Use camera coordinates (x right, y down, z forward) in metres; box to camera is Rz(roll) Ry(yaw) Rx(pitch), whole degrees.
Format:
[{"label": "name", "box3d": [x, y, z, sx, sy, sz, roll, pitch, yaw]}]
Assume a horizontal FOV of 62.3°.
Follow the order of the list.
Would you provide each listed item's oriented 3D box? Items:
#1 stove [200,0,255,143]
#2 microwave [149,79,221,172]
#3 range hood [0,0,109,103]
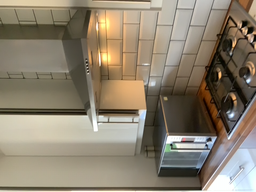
[{"label": "stove", "box3d": [0.550, -0.130, 1.170, 0.590, 0.010, 0.530, 93, 177, -46]}, {"label": "microwave", "box3d": [0.380, 0.240, 1.630, 0.560, 0.330, 0.460, 93, 177, -45]}, {"label": "range hood", "box3d": [-0.560, -0.260, 1.220, 0.550, 0.870, 0.290, 94, 177, -47]}]
